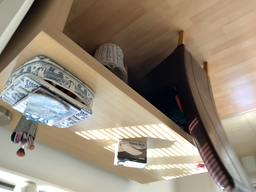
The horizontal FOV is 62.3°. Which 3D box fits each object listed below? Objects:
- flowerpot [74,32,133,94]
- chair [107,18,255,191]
[{"bbox_3d":[-0.160,-0.220,1.510,0.250,0.210,0.320,-24,135,30],"label":"flowerpot"},{"bbox_3d":[0.290,0.130,1.310,0.610,1.000,0.440,-26,134,32],"label":"chair"}]
